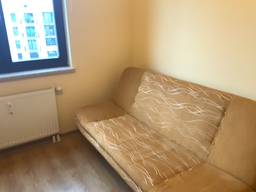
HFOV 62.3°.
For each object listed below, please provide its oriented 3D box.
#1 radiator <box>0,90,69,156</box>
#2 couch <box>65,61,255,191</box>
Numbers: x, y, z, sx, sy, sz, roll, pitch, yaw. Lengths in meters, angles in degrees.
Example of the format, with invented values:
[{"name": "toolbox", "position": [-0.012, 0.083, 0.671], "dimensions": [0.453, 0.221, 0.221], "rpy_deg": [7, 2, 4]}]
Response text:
[{"name": "radiator", "position": [-1.290, 0.330, 2.460], "dimensions": [1.120, 0.610, 0.160], "rpy_deg": [-12, 23, -29]}, {"name": "couch", "position": [0.250, 0.300, 2.170], "dimensions": [1.060, 0.900, 2.090], "rpy_deg": [-12, 23, -31]}]
